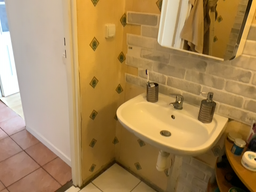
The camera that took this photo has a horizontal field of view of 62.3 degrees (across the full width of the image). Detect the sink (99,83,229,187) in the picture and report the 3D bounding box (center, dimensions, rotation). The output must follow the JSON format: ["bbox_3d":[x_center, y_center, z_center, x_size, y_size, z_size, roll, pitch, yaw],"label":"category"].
[{"bbox_3d":[0.190,0.160,1.210,0.580,0.190,0.410,24,33,32],"label":"sink"}]
